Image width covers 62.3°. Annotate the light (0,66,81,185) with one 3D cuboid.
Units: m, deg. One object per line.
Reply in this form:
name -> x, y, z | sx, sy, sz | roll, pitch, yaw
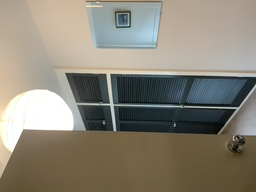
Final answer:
light -> -0.610, 0.190, 1.350 | 0.480, 0.480, 0.470 | 12, -48, -7
